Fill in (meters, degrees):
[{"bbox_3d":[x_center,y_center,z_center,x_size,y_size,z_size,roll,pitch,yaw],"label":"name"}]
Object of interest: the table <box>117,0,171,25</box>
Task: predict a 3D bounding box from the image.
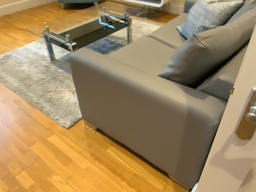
[{"bbox_3d":[0.260,-1.630,3.630,0.850,0.520,0.410,27,46,29],"label":"table"}]
